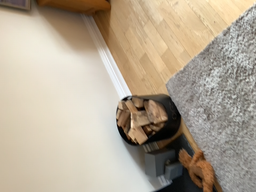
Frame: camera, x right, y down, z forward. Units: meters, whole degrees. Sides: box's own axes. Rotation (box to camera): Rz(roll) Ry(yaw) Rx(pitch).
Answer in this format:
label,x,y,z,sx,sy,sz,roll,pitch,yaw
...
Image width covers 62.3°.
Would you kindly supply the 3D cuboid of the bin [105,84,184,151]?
label,x,y,z,sx,sy,sz,roll,pitch,yaw
bin,0.100,0.140,1.450,0.340,0.300,0.310,-43,61,41
